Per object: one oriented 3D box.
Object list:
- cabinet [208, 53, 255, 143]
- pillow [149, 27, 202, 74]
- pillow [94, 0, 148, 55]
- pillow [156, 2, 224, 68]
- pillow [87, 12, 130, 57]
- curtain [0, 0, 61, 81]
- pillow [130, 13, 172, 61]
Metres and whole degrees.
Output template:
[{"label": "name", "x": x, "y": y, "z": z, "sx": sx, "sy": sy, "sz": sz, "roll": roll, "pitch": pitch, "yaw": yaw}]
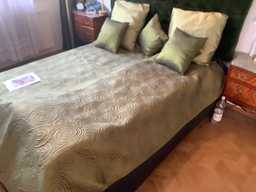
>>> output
[{"label": "cabinet", "x": 1.220, "y": 0.020, "z": 2.110, "sx": 0.560, "sy": 0.670, "sz": 0.360, "roll": 29, "pitch": 44, "yaw": 33}, {"label": "pillow", "x": 0.470, "y": -0.480, "z": 2.160, "sx": 0.300, "sy": 0.300, "sz": 0.380, "roll": -26, "pitch": 44, "yaw": -33}, {"label": "pillow", "x": -0.080, "y": -0.920, "z": 2.770, "sx": 0.550, "sy": 0.590, "sz": 0.240, "roll": 31, "pitch": 68, "yaw": 35}, {"label": "pillow", "x": 0.630, "y": -0.650, "z": 2.240, "sx": 0.600, "sy": 0.510, "sz": 0.230, "roll": 28, "pitch": 58, "yaw": 33}, {"label": "pillow", "x": -0.240, "y": -0.790, "z": 2.710, "sx": 0.380, "sy": 0.400, "sz": 0.280, "roll": 27, "pitch": 58, "yaw": 33}, {"label": "curtain", "x": -1.460, "y": -1.340, "z": 2.670, "sx": 0.260, "sy": 2.220, "sz": 0.830, "roll": 30, "pitch": 44, "yaw": 33}, {"label": "pillow", "x": 0.260, "y": -0.710, "z": 2.530, "sx": 0.380, "sy": 0.420, "sz": 0.270, "roll": 30, "pitch": 44, "yaw": 33}]
